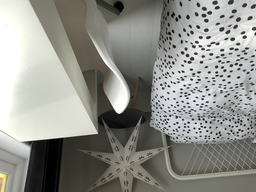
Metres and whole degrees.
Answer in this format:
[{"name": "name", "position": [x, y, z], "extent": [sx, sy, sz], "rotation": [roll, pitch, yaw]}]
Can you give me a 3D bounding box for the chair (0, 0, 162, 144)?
[{"name": "chair", "position": [-0.300, -0.290, 1.000], "extent": [0.660, 0.790, 0.650], "rotation": [-15, 151, 16]}]
